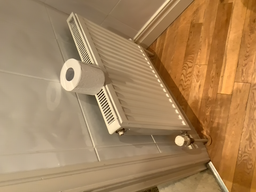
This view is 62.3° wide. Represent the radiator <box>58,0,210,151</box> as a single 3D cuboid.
[{"bbox_3d":[0.050,-0.100,1.020,0.090,0.640,0.690,-41,59,29],"label":"radiator"}]

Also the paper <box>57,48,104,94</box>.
[{"bbox_3d":[-0.160,-0.080,0.710,0.070,0.100,0.120,-42,58,28],"label":"paper"}]
